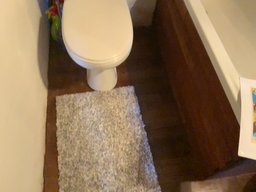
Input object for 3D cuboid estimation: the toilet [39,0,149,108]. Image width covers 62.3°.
[{"bbox_3d":[-0.180,-0.410,1.140,0.350,0.720,0.650,-7,60,-8],"label":"toilet"}]
